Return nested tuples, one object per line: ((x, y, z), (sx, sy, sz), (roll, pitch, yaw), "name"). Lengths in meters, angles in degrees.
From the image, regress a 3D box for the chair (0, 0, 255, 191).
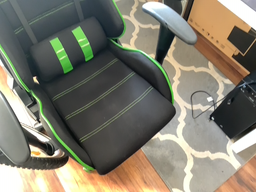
((-0.190, -0.190, 0.750), (0.730, 1.250, 0.770), (-36, 69, -21), "chair")
